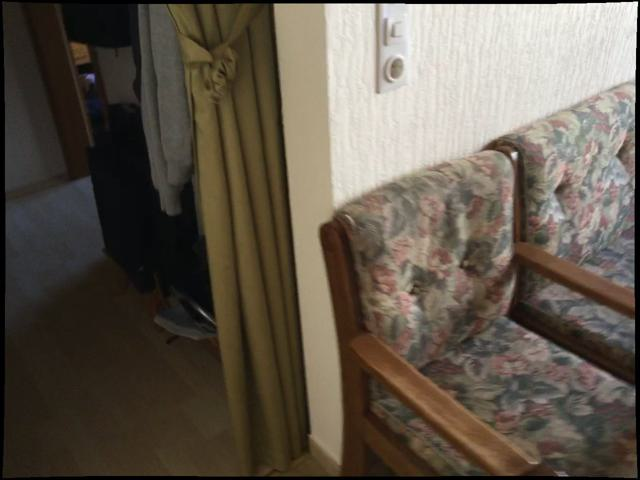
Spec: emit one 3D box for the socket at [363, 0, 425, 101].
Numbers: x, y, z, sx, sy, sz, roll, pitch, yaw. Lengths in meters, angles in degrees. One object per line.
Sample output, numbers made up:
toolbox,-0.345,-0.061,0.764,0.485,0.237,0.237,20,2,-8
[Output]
socket,0.140,-0.380,1.100,0.100,0.200,0.060,-26,40,-30
